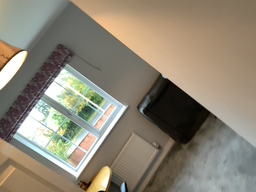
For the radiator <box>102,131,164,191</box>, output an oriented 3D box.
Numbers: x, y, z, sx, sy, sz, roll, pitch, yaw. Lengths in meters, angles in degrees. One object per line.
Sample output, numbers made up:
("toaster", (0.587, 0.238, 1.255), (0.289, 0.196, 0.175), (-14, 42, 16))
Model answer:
("radiator", (0.070, 0.920, 2.900), (0.700, 0.520, 0.110), (-54, 11, -4))
